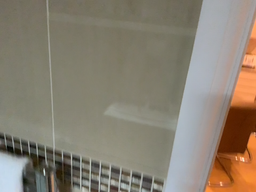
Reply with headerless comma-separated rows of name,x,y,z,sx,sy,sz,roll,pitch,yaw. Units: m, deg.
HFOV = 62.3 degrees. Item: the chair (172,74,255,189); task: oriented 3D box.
chair,1.050,0.340,2.390,0.680,0.990,0.760,0,23,-15
